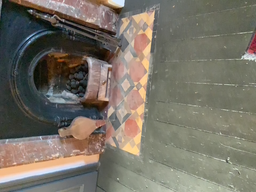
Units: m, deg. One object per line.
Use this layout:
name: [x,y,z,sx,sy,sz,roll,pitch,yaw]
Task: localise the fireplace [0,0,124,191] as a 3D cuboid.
fireplace: [-0.630,-0.130,1.630,0.440,1.080,1.430,8,95,45]
